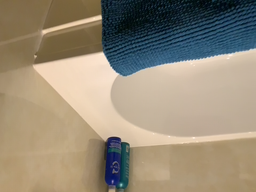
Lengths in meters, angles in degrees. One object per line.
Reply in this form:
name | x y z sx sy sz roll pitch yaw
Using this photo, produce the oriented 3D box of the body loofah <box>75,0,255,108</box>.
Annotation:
body loofah | 0.180 -0.240 0.650 0.510 0.370 0.350 -8 145 13
